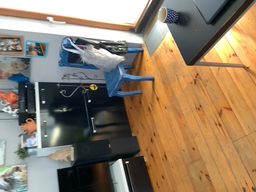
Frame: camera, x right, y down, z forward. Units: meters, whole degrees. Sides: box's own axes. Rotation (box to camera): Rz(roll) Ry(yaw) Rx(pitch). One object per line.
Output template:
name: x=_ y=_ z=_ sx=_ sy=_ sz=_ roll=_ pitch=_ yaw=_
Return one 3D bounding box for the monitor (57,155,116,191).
monitor: x=-0.410 y=1.230 z=2.370 sx=0.060 sy=0.610 sz=1.040 roll=-53 pitch=47 yaw=50

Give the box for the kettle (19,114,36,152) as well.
kettle: x=-1.230 y=0.450 z=2.580 sx=0.350 sy=0.160 sz=0.340 roll=-52 pitch=47 yaw=51
